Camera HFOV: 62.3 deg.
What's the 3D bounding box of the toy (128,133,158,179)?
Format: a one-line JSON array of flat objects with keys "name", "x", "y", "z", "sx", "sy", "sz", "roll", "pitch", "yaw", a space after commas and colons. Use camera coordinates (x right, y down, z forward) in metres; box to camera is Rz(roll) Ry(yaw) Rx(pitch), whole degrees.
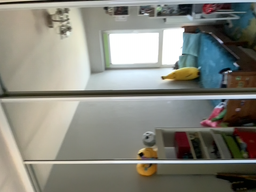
[{"name": "toy", "x": 0.160, "y": 0.670, "z": 2.400, "sx": 0.460, "sy": 0.310, "sz": 0.230, "roll": -88, "pitch": -3, "yaw": -56}]
